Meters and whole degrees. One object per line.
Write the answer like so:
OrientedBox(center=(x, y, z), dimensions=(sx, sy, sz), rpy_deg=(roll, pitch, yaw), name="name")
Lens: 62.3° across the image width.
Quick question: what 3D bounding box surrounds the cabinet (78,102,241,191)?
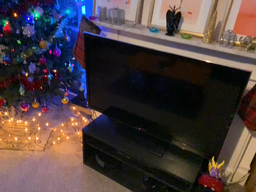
OrientedBox(center=(0.200, 0.510, 1.710), dimensions=(1.150, 0.410, 0.460), rpy_deg=(20, 33, 25), name="cabinet")
